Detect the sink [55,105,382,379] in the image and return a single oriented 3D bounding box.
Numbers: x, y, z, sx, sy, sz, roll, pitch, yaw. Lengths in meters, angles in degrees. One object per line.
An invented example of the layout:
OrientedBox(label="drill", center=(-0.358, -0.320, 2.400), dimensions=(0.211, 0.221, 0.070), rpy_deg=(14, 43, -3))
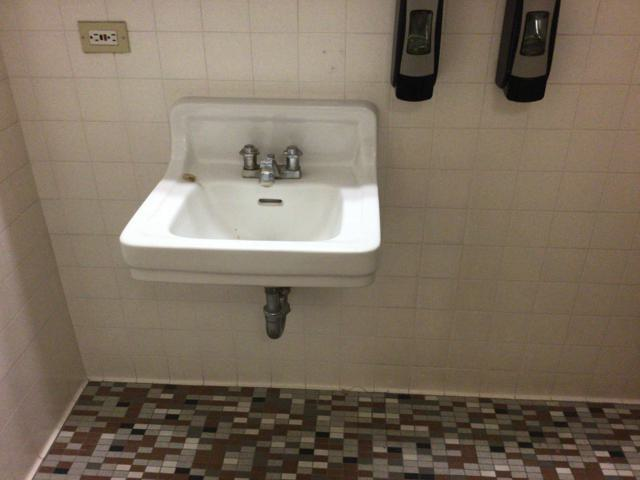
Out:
OrientedBox(label="sink", center=(-0.150, -0.030, 1.290), dimensions=(0.560, 0.420, 0.490), rpy_deg=(1, 27, 7))
